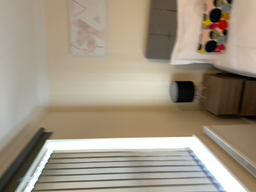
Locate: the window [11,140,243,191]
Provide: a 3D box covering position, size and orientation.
[{"bbox_3d":[0.000,0.550,1.310,1.080,1.300,0.080,-115,26,-76],"label":"window"}]
